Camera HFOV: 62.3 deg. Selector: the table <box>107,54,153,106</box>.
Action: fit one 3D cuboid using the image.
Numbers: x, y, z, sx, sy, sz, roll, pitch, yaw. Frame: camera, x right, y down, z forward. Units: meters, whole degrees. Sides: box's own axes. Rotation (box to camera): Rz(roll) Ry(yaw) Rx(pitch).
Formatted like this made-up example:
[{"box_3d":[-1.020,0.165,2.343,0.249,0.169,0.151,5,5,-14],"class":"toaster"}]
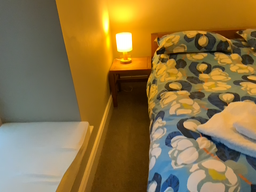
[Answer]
[{"box_3d":[0.040,-0.200,2.520,0.470,0.430,0.500,-2,28,4],"class":"table"}]
